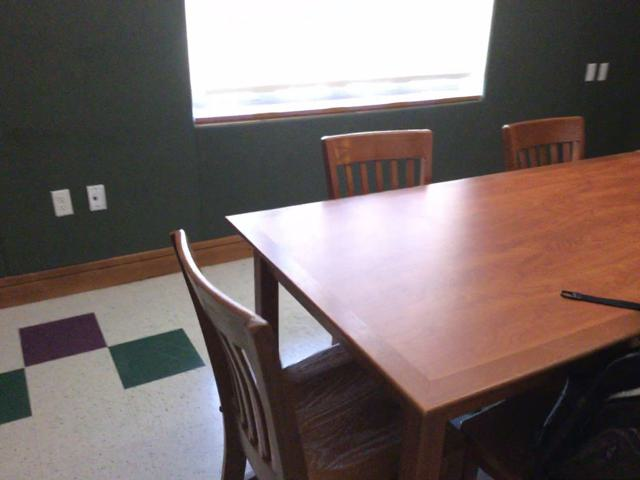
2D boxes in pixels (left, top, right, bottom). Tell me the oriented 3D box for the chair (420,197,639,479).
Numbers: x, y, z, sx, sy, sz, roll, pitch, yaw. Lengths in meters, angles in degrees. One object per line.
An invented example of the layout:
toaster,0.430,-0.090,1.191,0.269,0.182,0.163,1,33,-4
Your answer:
chair,0.620,0.460,1.210,0.480,0.890,0.640,-12,26,-28

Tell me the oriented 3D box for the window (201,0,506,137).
window,0.260,-1.160,2.920,1.730,1.070,0.210,-13,27,-30

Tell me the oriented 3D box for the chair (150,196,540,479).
chair,0.020,0.430,1.280,0.590,0.880,0.470,-11,26,-27
